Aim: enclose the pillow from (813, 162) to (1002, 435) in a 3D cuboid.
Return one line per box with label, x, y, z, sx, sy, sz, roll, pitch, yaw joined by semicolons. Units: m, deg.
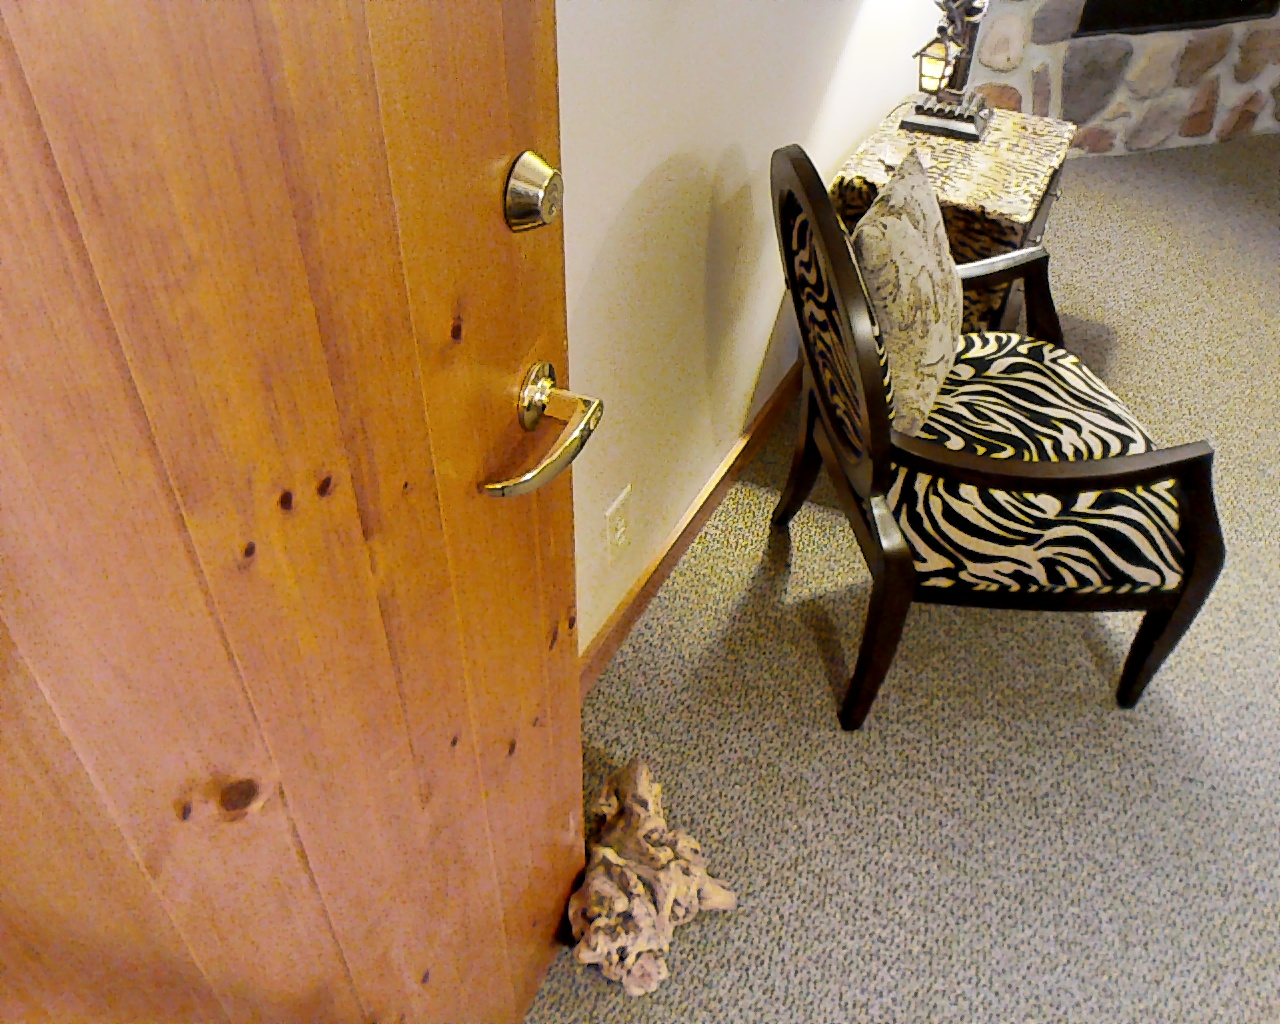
pillow;0.470;-0.380;1.850;0.130;0.390;0.460;20;22;18
